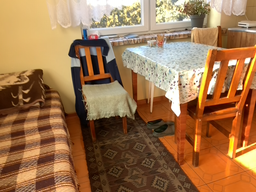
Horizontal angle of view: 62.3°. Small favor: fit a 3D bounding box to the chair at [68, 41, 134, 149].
[{"bbox_3d":[-0.280,-0.060,2.110,0.410,0.850,0.660,-11,23,-19],"label":"chair"}]
